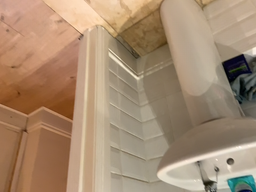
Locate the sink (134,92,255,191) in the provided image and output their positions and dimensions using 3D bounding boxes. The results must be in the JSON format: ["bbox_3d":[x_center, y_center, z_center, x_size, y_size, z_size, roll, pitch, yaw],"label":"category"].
[{"bbox_3d":[0.310,0.180,0.700,0.460,0.150,0.340,-24,142,27],"label":"sink"}]
